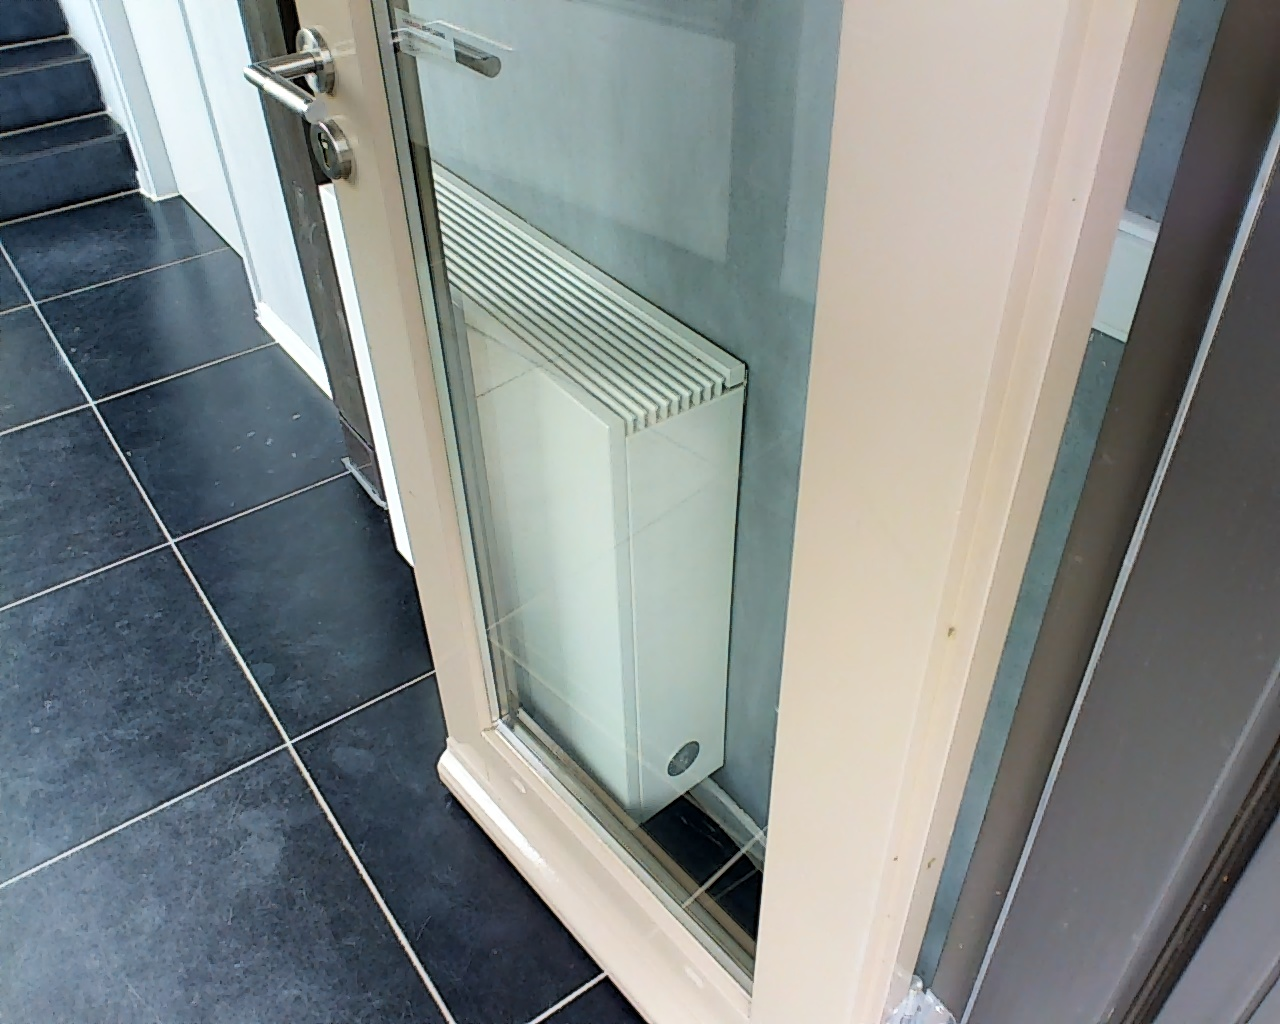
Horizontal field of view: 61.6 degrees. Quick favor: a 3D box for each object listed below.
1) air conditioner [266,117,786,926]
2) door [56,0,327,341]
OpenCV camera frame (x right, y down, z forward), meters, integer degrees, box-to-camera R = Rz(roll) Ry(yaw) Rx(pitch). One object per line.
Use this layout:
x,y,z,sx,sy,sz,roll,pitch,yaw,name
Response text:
-0.170,0.000,1.480,0.210,0.820,0.790,-25,45,-26,air conditioner
-1.250,-1.700,2.310,0.200,2.440,1.160,-25,45,-26,door
